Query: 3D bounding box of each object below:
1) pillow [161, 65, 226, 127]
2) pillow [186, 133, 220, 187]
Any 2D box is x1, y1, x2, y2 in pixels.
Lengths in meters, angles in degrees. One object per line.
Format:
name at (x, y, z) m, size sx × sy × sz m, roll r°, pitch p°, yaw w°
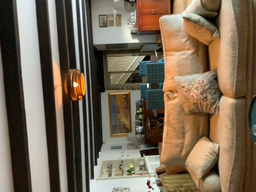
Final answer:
pillow at (0.760, -0.010, 2.490) m, size 0.490 × 0.510 × 0.200 m, roll -44°, pitch 7°, yaw 5°
pillow at (0.850, 0.720, 2.460) m, size 0.180 × 0.410 × 0.500 m, roll -2°, pitch 10°, yaw -2°
